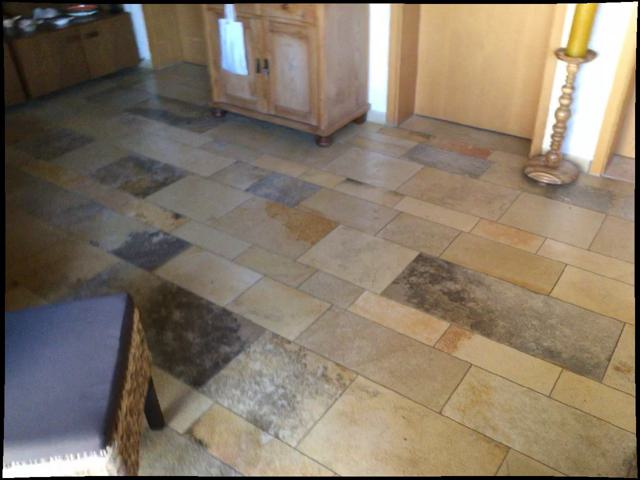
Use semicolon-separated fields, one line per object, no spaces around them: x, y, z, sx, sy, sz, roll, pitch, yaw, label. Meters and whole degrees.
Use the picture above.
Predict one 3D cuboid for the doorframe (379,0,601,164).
0.879;-1.461;2.890;1.019;1.951;0.390;21;40;29;doorframe
